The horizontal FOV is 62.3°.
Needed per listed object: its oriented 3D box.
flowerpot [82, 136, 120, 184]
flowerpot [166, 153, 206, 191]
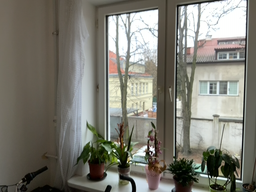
[{"bbox_3d":[-0.260,0.610,2.100,0.220,0.340,0.320,3,5,30],"label":"flowerpot"},{"bbox_3d":[0.480,0.680,1.760,0.260,0.310,0.240,3,5,30],"label":"flowerpot"}]
